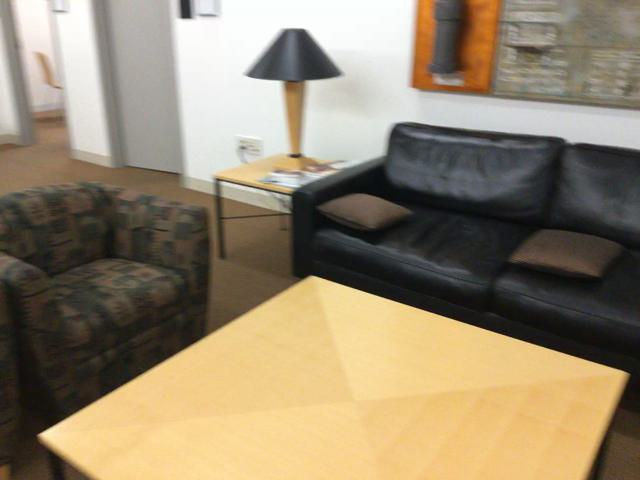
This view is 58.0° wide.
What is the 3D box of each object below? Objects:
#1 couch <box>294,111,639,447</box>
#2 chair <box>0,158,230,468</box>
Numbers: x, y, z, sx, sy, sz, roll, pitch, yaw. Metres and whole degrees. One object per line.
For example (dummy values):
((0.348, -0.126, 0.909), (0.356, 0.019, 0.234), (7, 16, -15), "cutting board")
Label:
((0.860, 0.040, 2.280), (1.800, 0.790, 0.850), (17, 26, 35), "couch")
((-0.880, 0.170, 2.130), (0.680, 0.710, 0.820), (17, 26, 35), "chair")
